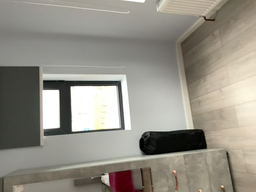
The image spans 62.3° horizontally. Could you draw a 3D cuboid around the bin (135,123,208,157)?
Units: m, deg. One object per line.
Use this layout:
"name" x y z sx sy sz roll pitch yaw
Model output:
"bin" 0.460 0.460 2.260 0.220 0.720 0.270 144 122 -69
